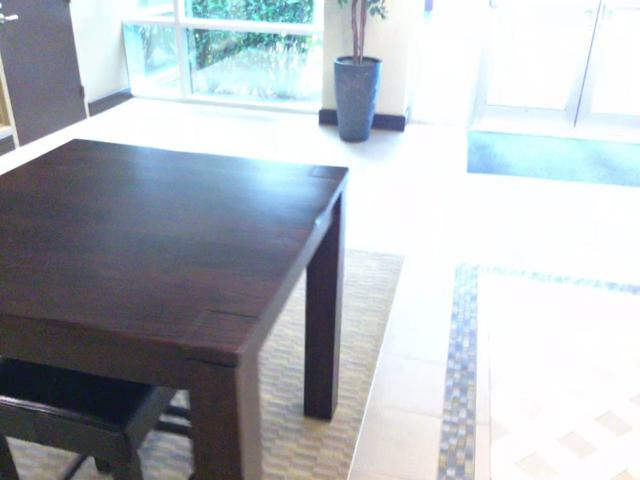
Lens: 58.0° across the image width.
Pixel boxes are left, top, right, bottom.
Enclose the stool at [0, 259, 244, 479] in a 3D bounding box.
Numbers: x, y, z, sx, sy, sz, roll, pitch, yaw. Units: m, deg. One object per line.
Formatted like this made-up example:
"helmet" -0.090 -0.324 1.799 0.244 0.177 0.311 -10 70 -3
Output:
"stool" -0.520 0.500 1.550 0.430 0.650 0.580 7 28 11
